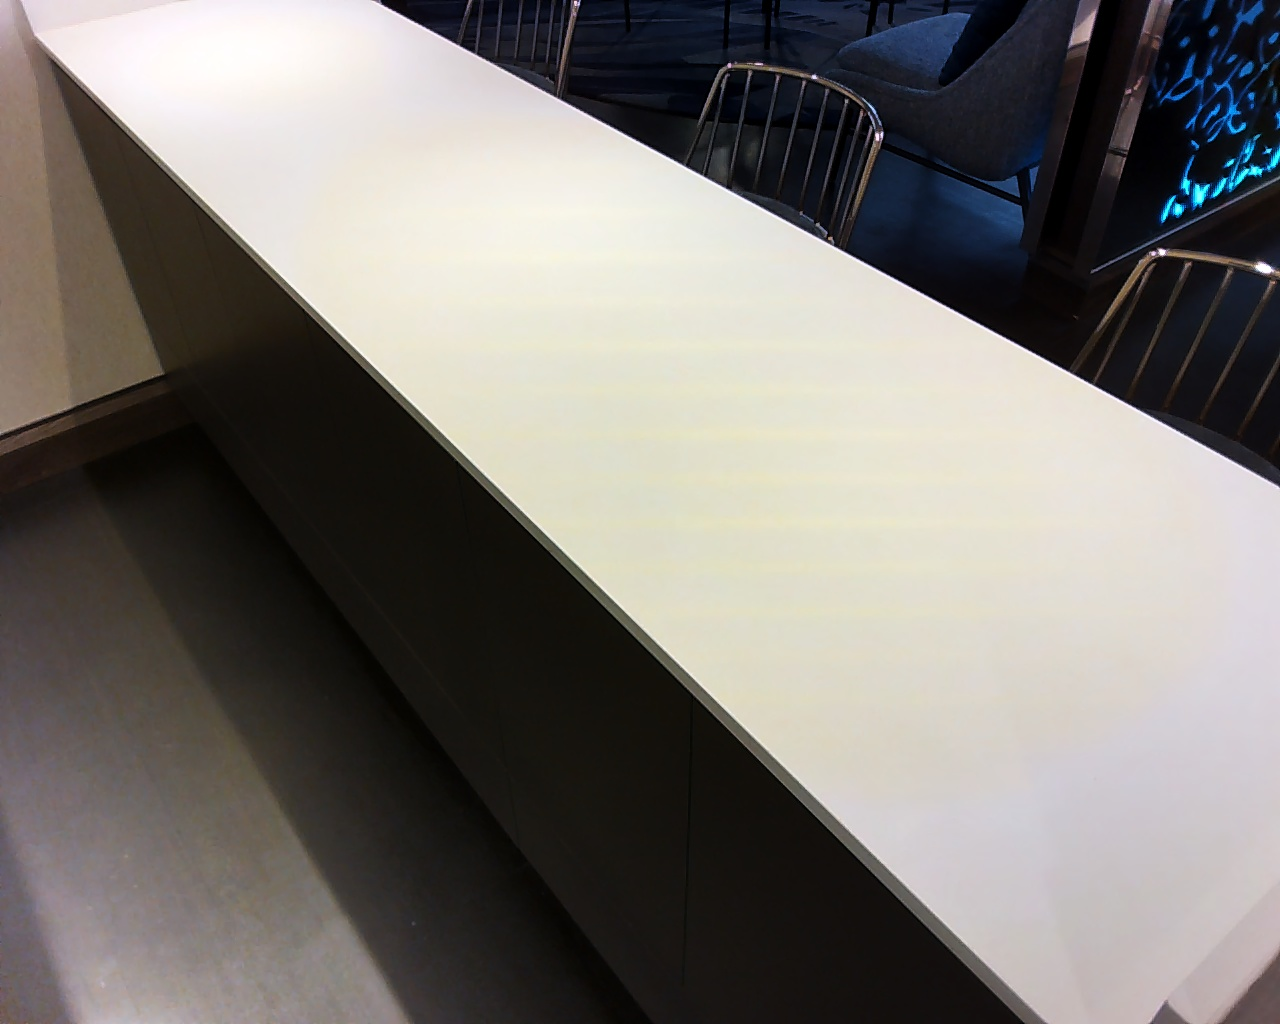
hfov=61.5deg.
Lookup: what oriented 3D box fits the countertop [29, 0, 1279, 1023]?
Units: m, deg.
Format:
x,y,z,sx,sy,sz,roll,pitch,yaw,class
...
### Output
x,y,z,sx,sy,sz,roll,pitch,yaw,class
-0.150,-0.330,1.470,0.650,0.200,2.280,-28,48,-26,countertop
